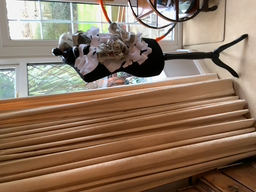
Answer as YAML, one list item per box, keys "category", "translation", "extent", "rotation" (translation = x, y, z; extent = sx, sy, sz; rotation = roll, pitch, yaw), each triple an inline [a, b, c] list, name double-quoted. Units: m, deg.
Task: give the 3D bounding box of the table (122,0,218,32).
- category: "table"
  translation: [0.390, -1.120, 2.110]
  extent: [0.550, 0.770, 0.830]
  rotation: [-164, 69, -67]
